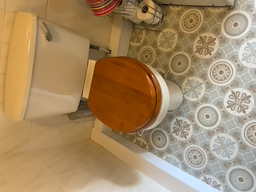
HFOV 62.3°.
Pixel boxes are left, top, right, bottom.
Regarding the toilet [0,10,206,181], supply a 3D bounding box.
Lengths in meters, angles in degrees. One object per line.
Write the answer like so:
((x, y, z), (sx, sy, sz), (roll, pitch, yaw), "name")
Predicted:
((-0.110, -0.070, 1.130), (0.670, 0.770, 0.510), (20, 103, 37), "toilet")
